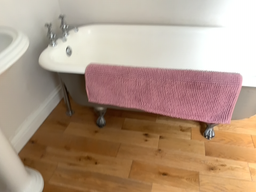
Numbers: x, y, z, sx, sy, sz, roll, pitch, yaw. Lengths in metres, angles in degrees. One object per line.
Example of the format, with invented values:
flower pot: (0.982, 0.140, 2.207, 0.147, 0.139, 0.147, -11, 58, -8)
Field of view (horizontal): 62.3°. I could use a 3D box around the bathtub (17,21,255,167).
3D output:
bathtub: (0.300, -0.090, 1.490, 1.710, 0.590, 0.750, 6, 38, 12)
